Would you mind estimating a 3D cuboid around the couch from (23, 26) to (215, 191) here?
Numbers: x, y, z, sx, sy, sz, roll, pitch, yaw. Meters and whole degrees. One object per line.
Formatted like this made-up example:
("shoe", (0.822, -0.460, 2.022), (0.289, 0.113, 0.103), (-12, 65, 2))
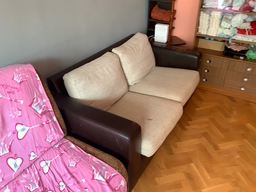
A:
("couch", (0.080, -0.060, 2.160), (1.030, 0.760, 1.640), (18, 38, 27))
